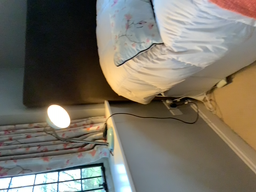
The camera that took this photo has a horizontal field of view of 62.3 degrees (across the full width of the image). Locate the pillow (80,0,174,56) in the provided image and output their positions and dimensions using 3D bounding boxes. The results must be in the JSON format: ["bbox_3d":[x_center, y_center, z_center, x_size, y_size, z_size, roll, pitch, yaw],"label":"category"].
[{"bbox_3d":[0.000,-0.510,1.310,0.530,0.260,0.070,40,151,1],"label":"pillow"}]
